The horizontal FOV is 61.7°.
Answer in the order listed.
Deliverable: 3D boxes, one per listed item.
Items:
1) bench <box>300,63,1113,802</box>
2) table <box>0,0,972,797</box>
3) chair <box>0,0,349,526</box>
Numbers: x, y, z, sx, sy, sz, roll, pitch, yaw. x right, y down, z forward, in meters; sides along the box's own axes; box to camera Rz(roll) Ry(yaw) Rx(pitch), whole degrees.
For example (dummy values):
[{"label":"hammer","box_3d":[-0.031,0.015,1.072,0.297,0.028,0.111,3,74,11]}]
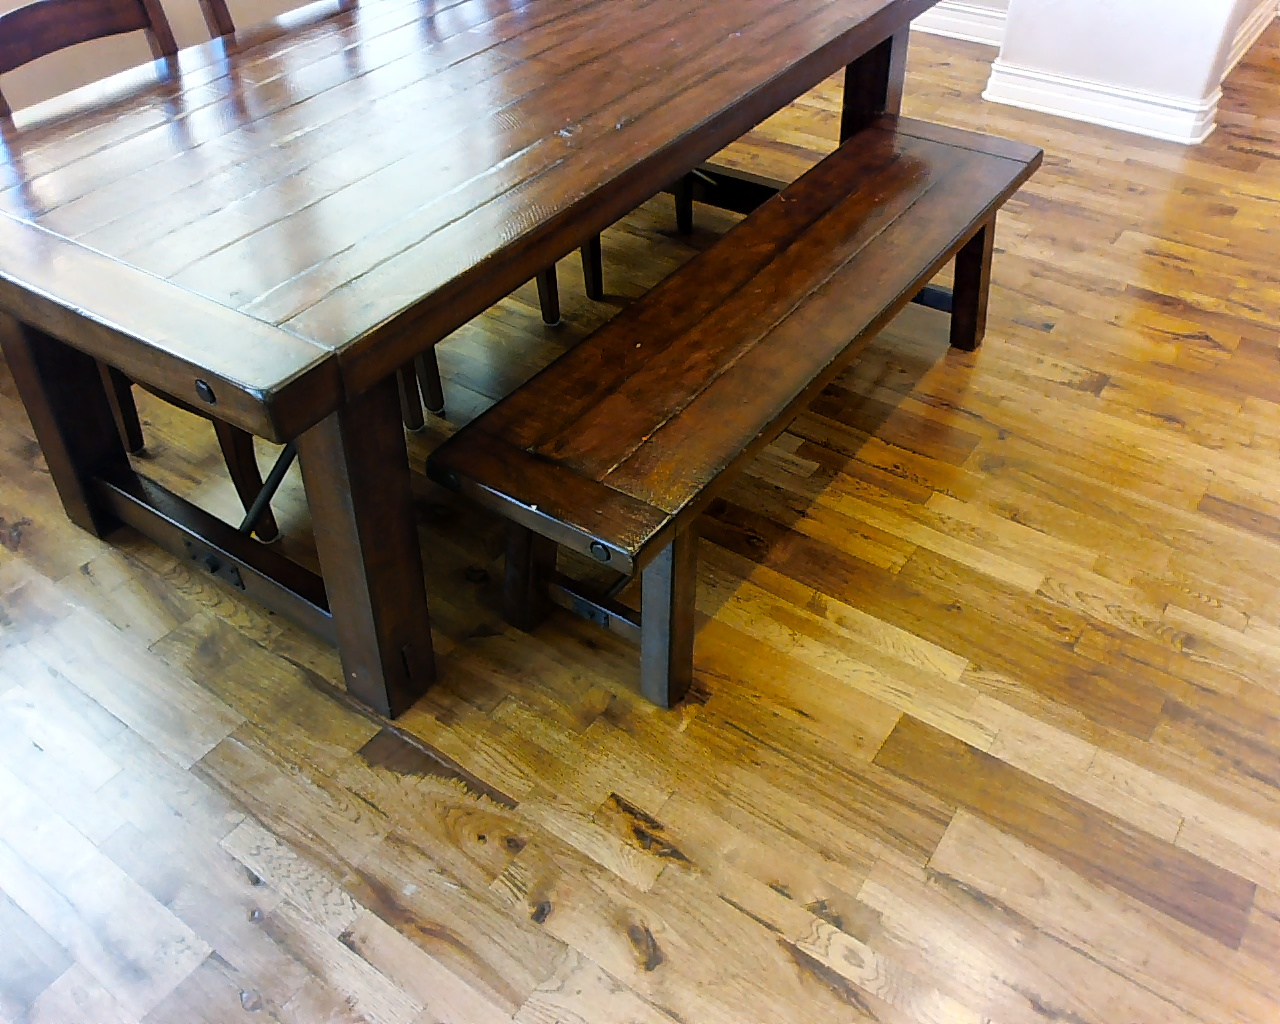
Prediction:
[{"label":"bench","box_3d":[0.270,-0.340,2.200,0.700,0.490,1.750,25,48,27]},{"label":"table","box_3d":[-0.280,-0.690,2.390,1.200,0.780,2.260,23,47,25]},{"label":"chair","box_3d":[-1.030,-0.610,2.060,0.330,1.050,0.670,25,48,27]}]
